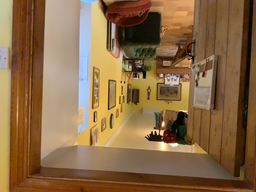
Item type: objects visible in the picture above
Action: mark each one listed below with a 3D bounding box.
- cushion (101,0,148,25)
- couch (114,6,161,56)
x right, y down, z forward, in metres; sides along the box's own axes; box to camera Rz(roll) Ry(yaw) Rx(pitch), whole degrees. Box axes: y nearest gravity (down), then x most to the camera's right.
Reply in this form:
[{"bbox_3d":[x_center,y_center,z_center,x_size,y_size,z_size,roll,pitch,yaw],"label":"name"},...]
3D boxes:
[{"bbox_3d":[-0.030,-1.570,3.850,0.770,0.330,0.730,2,-177,3],"label":"cushion"},{"bbox_3d":[0.230,-1.430,5.010,0.890,0.710,1.810,2,-177,3],"label":"couch"}]
